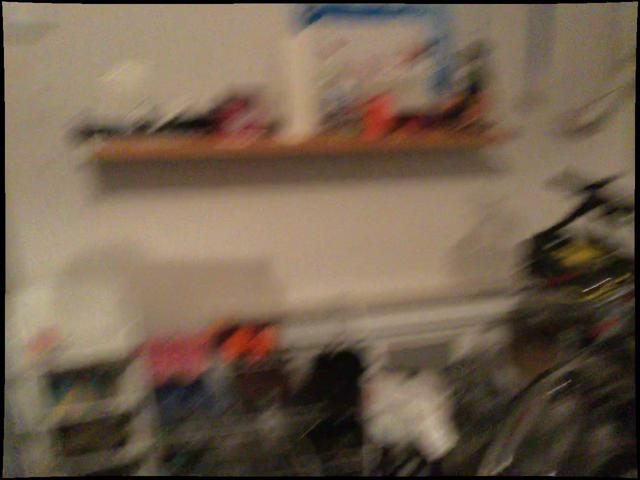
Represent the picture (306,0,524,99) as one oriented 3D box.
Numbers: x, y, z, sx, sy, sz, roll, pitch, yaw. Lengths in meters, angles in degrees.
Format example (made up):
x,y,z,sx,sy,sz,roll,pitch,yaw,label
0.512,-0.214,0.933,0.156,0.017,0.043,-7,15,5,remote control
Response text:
x,y,z,sx,sy,sz,roll,pitch,yaw,label
0.290,-0.621,1.750,0.649,0.340,0.140,-7,20,-17,picture
